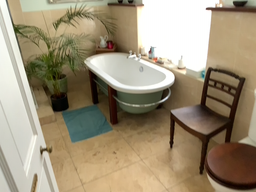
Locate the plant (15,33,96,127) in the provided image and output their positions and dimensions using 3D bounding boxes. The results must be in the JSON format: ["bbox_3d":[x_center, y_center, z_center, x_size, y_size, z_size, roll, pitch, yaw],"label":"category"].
[{"bbox_3d":[-1.000,-0.280,2.940,0.780,0.950,0.800,-15,29,-22],"label":"plant"}]

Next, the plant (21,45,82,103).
[{"bbox_3d":[-1.230,-0.380,3.450,0.760,0.720,0.410,-15,29,-22],"label":"plant"}]

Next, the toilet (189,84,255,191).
[{"bbox_3d":[0.890,0.420,1.520,0.740,0.820,0.420,-17,30,-26],"label":"toilet"}]
